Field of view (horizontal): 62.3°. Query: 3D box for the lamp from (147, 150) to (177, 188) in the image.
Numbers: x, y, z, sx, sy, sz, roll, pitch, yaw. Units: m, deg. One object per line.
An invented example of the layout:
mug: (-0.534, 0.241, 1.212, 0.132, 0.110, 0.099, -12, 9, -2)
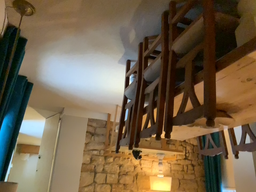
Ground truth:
lamp: (0.690, 1.520, 4.430, 0.440, 0.700, 0.450, 10, 158, -20)
